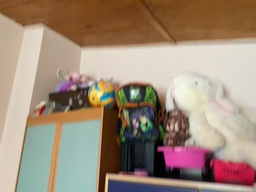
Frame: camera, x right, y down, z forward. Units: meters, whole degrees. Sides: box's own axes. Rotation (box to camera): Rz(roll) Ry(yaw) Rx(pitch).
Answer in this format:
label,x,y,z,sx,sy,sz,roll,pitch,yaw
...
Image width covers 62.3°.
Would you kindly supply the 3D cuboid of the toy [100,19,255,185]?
label,x,y,z,sx,sy,sz,roll,pitch,yaw
toy,0.440,0.100,1.240,1.020,0.690,0.580,-8,-19,31
